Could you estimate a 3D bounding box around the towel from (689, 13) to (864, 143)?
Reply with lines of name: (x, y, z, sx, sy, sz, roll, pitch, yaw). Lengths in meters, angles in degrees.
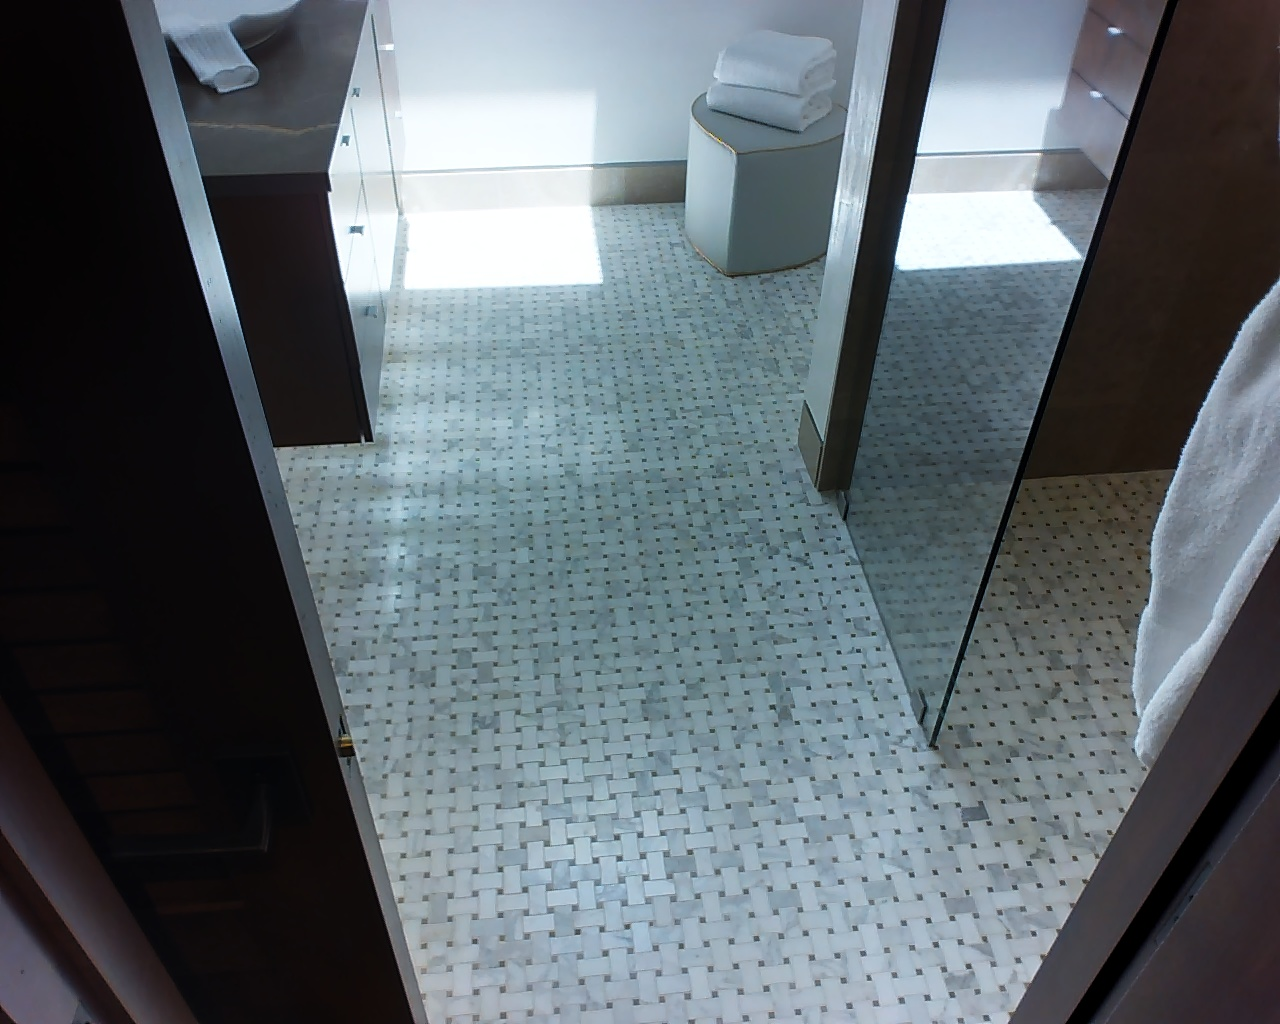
towel: (0.410, -1.330, 3.260, 0.420, 0.210, 0.290, 31, 50, 29)
